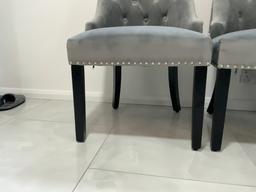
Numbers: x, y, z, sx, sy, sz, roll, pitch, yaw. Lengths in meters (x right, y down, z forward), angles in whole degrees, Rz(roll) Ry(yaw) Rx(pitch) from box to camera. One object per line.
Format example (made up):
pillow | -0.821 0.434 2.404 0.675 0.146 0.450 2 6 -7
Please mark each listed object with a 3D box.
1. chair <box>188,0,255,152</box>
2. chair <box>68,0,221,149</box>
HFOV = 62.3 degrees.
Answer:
chair | 0.660 -0.300 1.020 0.590 0.920 0.660 3 15 9
chair | 0.090 -0.320 1.100 0.550 0.920 0.650 2 14 8
